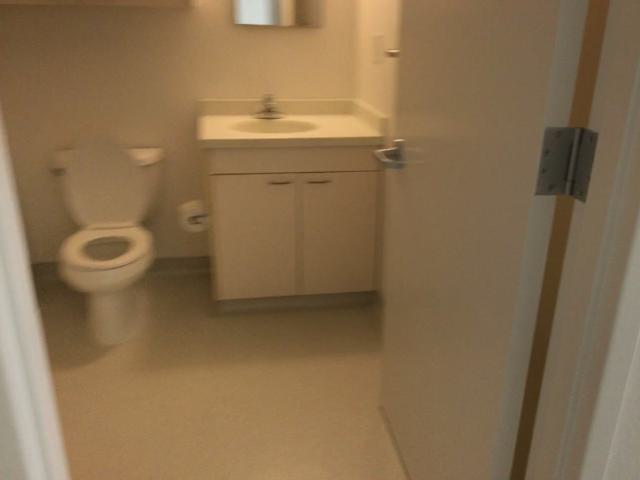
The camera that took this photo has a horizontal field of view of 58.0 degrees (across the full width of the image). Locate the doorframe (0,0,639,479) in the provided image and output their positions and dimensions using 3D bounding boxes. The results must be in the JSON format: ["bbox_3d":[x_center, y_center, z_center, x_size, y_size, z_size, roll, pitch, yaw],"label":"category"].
[{"bbox_3d":[0.020,-0.020,0.820,0.980,2.160,0.150,-3,21,-11],"label":"doorframe"}]

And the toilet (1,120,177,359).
[{"bbox_3d":[-0.940,-0.050,2.550,0.500,0.810,0.720,-5,22,-10],"label":"toilet"}]

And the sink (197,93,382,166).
[{"bbox_3d":[-0.160,-0.520,2.630,0.760,0.200,0.510,-5,22,-10],"label":"sink"}]
